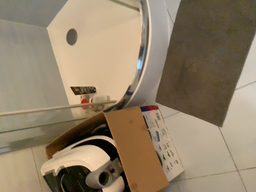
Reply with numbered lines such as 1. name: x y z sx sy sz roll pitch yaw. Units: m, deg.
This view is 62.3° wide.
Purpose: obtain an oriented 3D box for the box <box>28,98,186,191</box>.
1. box: -0.130 0.330 1.210 0.620 0.550 0.390 -30 74 38
